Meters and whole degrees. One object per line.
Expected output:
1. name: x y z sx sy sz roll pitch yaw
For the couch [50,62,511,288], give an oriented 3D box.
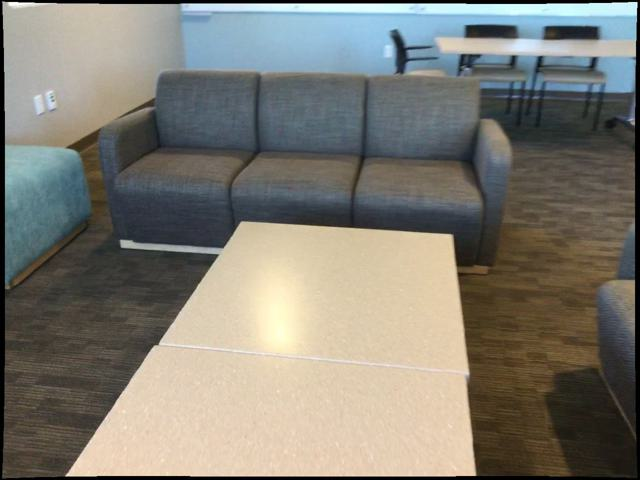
1. couch: -0.150 -0.381 2.860 1.905 0.812 0.780 3 27 8
